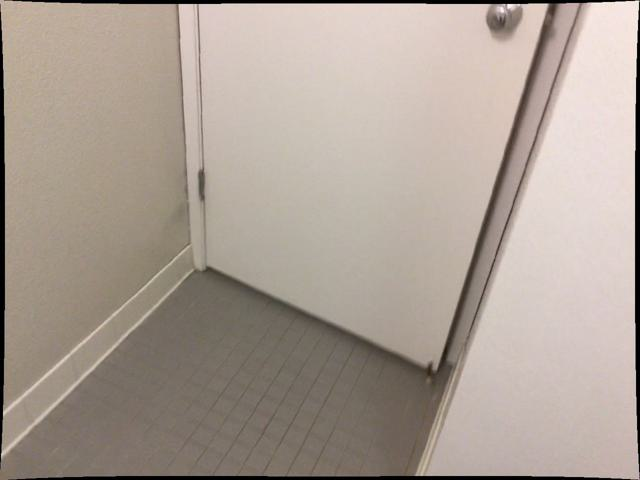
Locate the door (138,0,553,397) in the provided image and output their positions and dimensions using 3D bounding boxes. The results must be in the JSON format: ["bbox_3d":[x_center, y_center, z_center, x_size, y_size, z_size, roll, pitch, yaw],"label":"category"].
[{"bbox_3d":[0.020,-0.521,1.200,0.869,1.942,0.140,17,37,16],"label":"door"}]
